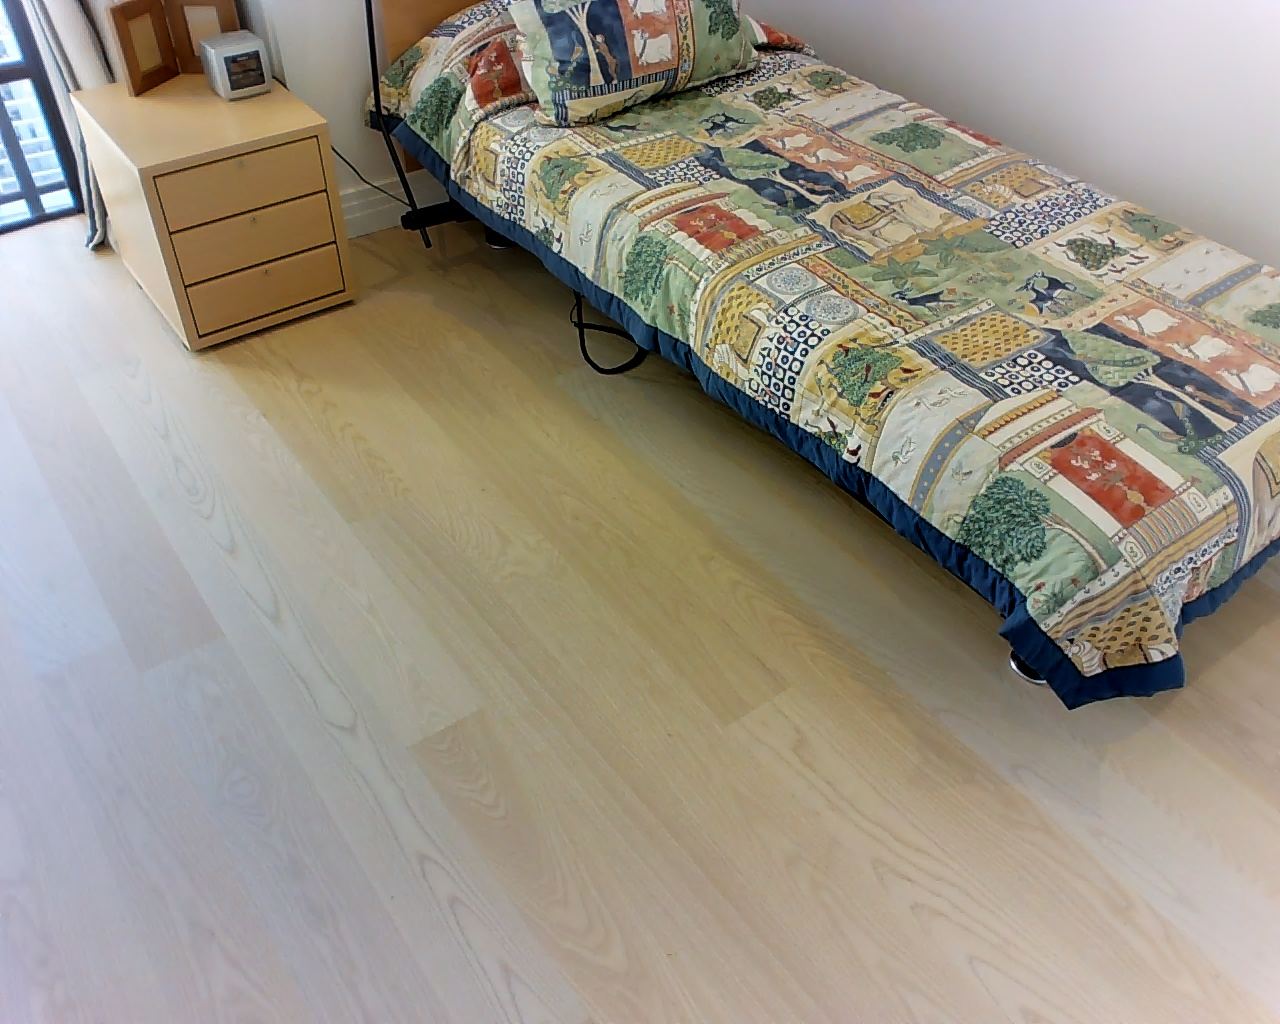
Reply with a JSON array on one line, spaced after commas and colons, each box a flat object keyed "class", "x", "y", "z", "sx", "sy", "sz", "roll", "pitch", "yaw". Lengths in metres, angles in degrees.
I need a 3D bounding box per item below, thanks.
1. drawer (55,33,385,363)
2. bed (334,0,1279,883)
[{"class": "drawer", "x": -0.980, "y": -0.760, "z": 2.550, "sx": 0.470, "sy": 0.470, "sz": 0.580, "roll": -25, "pitch": 49, "yaw": -26}, {"class": "bed", "x": 0.420, "y": -0.620, "z": 2.170, "sx": 1.130, "sy": 0.770, "sz": 2.290, "roll": -25, "pitch": 49, "yaw": -26}]
